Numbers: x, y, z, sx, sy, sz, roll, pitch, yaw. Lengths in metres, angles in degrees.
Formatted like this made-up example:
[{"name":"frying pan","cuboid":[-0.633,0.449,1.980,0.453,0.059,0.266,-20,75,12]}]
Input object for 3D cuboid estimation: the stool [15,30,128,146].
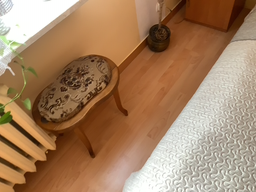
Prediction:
[{"name":"stool","cuboid":[-0.310,-0.040,1.370,0.330,0.470,0.490,33,67,25]}]
